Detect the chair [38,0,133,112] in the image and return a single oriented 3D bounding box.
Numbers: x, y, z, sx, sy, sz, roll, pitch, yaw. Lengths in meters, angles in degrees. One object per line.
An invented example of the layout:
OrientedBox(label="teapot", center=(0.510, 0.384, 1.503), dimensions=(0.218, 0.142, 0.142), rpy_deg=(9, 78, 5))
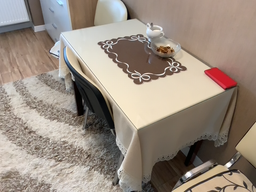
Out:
OrientedBox(label="chair", center=(-0.350, -0.400, 1.880), dimensions=(0.570, 0.810, 0.500), rpy_deg=(-20, 47, -24))
